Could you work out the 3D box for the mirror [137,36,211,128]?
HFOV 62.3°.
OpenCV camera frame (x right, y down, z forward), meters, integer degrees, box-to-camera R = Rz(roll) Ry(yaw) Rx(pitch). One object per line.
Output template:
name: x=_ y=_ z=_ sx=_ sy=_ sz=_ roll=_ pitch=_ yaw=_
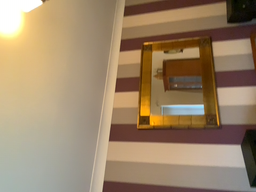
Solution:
mirror: x=0.460 y=-0.170 z=2.170 sx=0.140 sy=0.640 sz=0.990 roll=63 pitch=-151 yaw=-57
